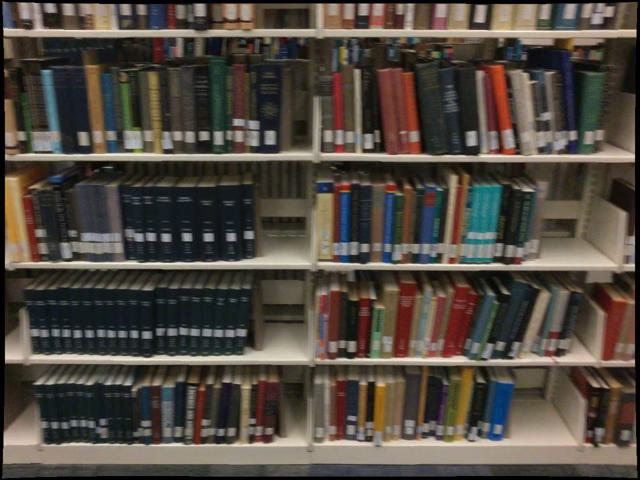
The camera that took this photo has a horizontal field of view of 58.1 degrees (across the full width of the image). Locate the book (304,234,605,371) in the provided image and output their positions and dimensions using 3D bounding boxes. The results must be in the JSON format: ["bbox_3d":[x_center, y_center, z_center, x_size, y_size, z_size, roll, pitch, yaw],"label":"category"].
[{"bbox_3d":[0.409,0.201,1.950,0.918,0.341,0.310,-1,20,-1],"label":"book"}]

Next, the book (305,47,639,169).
[{"bbox_3d":[0.419,-0.401,1.710,0.918,0.311,0.270,-1,20,-1],"label":"book"}]

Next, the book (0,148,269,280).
[{"bbox_3d":[-0.578,-0.110,1.930,0.778,0.291,0.510,-1,20,-1],"label":"book"}]

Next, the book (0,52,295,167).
[{"bbox_3d":[-0.519,-0.391,1.690,0.878,0.291,0.250,-1,20,-1],"label":"book"}]

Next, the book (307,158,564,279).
[{"bbox_3d":[0.329,-0.080,1.850,0.738,0.291,0.320,-1,20,-1],"label":"book"}]

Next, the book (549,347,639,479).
[{"bbox_3d":[1.277,0.582,1.960,0.878,0.391,0.190,-1,20,-1],"label":"book"}]

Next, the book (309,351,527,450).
[{"bbox_3d":[0.319,0.551,1.990,0.708,0.271,0.160,-1,20,-1],"label":"book"}]

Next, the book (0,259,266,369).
[{"bbox_3d":[-0.588,0.241,1.940,0.788,0.261,0.260,-1,20,-1],"label":"book"}]

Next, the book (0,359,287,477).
[{"bbox_3d":[-0.608,0.612,1.990,0.977,0.331,0.170,-1,20,-1],"label":"book"}]
